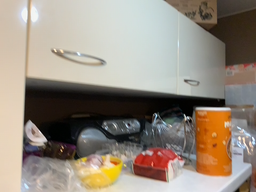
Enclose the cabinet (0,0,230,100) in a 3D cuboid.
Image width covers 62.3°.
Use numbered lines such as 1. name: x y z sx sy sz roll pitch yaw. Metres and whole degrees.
1. cabinet: 0.100 -0.180 1.020 0.380 0.360 1.270 -2 -4 41
